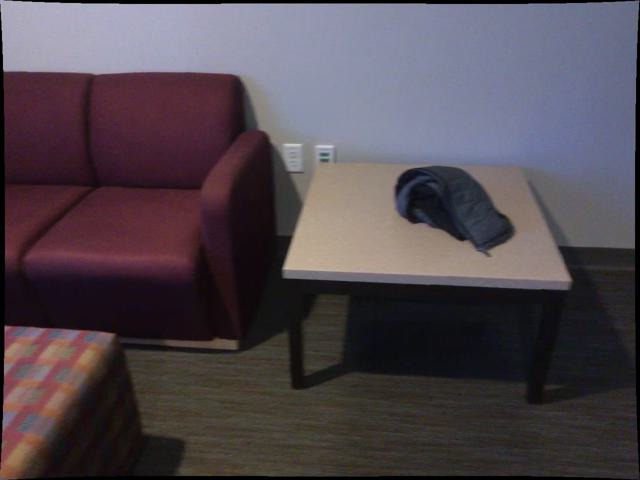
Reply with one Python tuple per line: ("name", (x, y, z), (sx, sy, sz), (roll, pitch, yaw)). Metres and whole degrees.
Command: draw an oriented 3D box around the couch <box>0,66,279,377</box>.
("couch", (-1.158, -0.120, 2.070), (1.887, 0.791, 0.750), (2, 32, 5))
